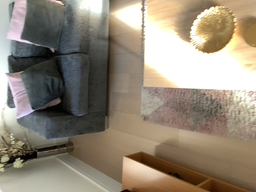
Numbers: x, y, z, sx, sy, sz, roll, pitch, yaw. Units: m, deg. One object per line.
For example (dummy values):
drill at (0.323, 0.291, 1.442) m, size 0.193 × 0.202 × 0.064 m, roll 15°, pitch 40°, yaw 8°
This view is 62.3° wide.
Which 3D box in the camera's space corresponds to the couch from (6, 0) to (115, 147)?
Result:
couch at (-0.730, -0.400, 2.210) m, size 0.940 × 0.730 × 1.530 m, roll 5°, pitch 95°, yaw 46°

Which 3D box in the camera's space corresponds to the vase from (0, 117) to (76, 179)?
vase at (-1.200, 0.580, 2.410) m, size 0.150 × 1.250 × 0.550 m, roll 6°, pitch 95°, yaw 46°
